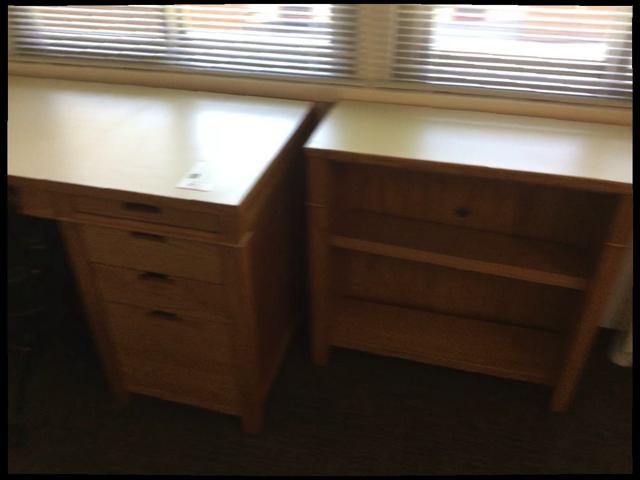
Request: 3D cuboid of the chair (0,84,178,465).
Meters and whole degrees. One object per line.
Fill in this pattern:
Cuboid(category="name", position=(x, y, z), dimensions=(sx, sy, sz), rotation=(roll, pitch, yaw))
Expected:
Cuboid(category="chair", position=(-0.779, 0.100, 1.650), dimensions=(0.399, 0.891, 0.540), rotation=(9, 37, 13))

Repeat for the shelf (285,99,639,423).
Cuboid(category="shelf", position=(0.369, 0.060, 1.650), dimensions=(0.849, 0.761, 0.320), rotation=(9, 37, 13))
